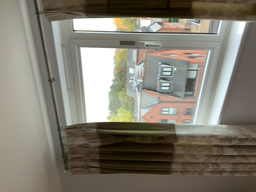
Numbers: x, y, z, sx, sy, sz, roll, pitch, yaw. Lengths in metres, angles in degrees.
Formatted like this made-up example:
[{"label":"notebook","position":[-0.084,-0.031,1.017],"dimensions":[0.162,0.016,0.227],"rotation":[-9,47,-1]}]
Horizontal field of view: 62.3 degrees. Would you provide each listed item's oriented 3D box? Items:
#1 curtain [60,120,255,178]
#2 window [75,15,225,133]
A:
[{"label":"curtain","position":[0.510,0.490,1.890],"dimensions":[0.110,2.120,0.550],"rotation":[-92,3,-60]},{"label":"window","position":[0.160,-0.130,1.960],"dimensions":[0.100,1.160,1.120],"rotation":[-92,3,-60]}]
